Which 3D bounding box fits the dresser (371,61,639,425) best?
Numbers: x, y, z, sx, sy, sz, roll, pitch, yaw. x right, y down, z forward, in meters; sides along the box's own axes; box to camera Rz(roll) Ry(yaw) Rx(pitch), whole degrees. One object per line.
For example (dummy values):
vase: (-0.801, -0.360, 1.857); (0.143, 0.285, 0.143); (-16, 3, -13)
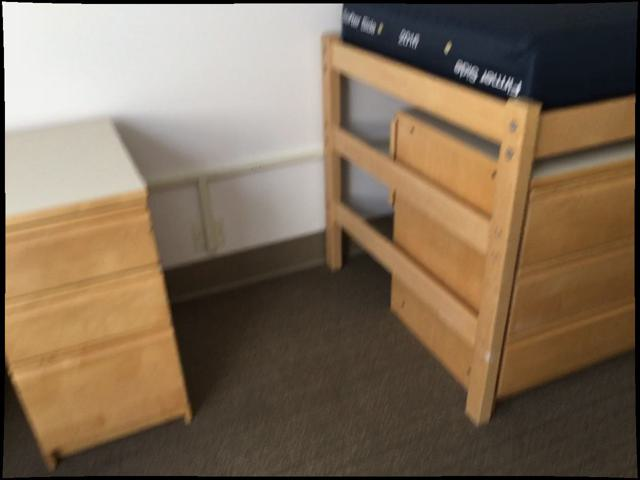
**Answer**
dresser: (0.689, -0.060, 1.860); (0.779, 0.771, 0.710); (-15, 33, -21)
